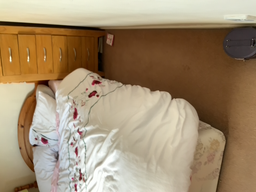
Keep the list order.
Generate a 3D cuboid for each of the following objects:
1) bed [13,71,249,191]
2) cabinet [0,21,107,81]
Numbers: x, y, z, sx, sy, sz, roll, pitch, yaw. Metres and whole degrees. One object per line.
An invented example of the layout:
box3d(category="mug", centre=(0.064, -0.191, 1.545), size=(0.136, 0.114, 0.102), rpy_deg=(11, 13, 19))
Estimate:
box3d(category="bed", centre=(-0.380, 0.740, 1.990), size=(2.210, 0.950, 1.610), rpy_deg=(24, 116, 55))
box3d(category="cabinet", centre=(-0.850, -0.500, 2.390), size=(0.430, 1.140, 0.540), rpy_deg=(24, 116, 55))
